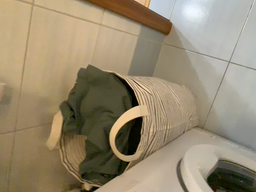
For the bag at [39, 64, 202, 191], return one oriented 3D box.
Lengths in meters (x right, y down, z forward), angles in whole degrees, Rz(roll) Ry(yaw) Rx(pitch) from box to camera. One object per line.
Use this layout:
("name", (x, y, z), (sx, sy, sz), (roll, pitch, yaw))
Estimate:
("bag", (0.030, 0.110, 0.860), (0.240, 0.640, 0.390), (26, 108, 29))
